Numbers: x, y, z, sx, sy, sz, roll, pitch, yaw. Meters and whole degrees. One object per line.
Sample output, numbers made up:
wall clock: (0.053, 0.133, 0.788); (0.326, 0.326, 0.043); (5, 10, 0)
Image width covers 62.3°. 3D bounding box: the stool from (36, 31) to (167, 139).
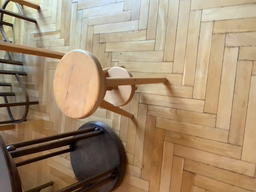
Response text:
stool: (-0.120, -0.050, 1.140); (0.340, 0.520, 0.330); (51, 117, 24)
